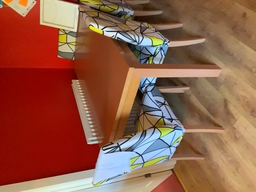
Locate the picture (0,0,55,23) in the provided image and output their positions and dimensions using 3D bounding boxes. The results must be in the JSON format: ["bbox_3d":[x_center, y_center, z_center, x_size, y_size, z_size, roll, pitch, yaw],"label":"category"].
[{"bbox_3d":[-1.150,-1.060,2.070,0.020,0.840,0.630,-118,35,-42],"label":"picture"}]

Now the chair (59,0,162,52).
[{"bbox_3d":[-0.210,-0.810,2.260,0.460,0.920,0.460,-119,35,-43],"label":"chair"}]

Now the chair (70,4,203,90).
[{"bbox_3d":[0.040,-0.390,1.770,0.460,0.920,0.460,-119,35,-43],"label":"chair"}]
